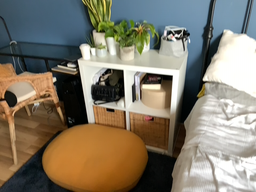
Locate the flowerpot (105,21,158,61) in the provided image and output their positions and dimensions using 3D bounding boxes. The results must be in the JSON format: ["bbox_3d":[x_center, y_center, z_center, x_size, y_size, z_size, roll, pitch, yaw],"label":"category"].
[{"bbox_3d":[0.040,-0.440,1.640,0.290,0.200,0.340,10,32,19],"label":"flowerpot"}]

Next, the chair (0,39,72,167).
[{"bbox_3d":[-1.030,0.000,1.870,0.620,0.780,0.720,11,32,22],"label":"chair"}]

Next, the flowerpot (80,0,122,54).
[{"bbox_3d":[-0.210,-0.610,1.710,0.230,0.470,0.210,10,32,20],"label":"flowerpot"}]
